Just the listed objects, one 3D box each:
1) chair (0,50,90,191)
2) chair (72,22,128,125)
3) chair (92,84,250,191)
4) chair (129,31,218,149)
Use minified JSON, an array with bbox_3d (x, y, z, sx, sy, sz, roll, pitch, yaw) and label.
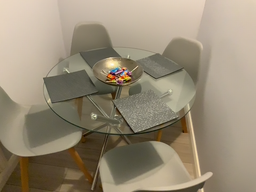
[{"bbox_3d":[-0.550,0.200,1.360,0.470,0.810,0.450,-10,40,-17],"label":"chair"},{"bbox_3d":[-0.260,-0.200,1.920,0.400,0.770,0.470,-5,39,-11],"label":"chair"},{"bbox_3d":[0.100,0.440,1.100,0.460,0.810,0.520,-7,39,-13],"label":"chair"},{"bbox_3d":[0.330,-0.050,1.770,0.430,0.780,0.420,-28,47,-33],"label":"chair"}]
